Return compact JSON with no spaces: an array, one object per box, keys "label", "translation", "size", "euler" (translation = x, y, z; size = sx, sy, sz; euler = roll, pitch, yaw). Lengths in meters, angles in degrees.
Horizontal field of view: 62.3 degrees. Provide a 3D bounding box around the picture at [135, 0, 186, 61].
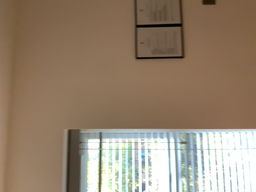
[{"label":"picture","translation":[0.210,-0.460,1.410],"size":[0.020,0.330,0.460],"euler":[79,-169,-83]}]
